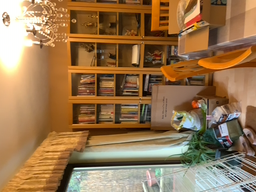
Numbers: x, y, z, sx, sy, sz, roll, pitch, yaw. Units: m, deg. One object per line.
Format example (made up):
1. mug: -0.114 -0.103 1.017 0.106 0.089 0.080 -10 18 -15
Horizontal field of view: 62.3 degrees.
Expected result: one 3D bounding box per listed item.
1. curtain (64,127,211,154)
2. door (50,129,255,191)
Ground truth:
1. curtain: 0.130 0.570 2.790 0.400 1.820 0.180 -132 43 -80
2. door: 0.440 0.610 1.700 1.910 1.910 0.130 -132 43 -80
